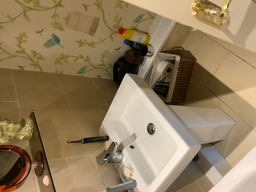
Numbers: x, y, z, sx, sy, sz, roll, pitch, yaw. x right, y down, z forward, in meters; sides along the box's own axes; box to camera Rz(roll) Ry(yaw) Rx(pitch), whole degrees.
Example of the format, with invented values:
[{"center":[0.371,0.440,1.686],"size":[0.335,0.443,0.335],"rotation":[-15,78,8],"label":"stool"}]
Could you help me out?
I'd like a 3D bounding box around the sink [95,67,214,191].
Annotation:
[{"center":[0.080,0.190,1.100],"size":[0.510,0.180,0.450],"rotation":[53,127,39],"label":"sink"}]
